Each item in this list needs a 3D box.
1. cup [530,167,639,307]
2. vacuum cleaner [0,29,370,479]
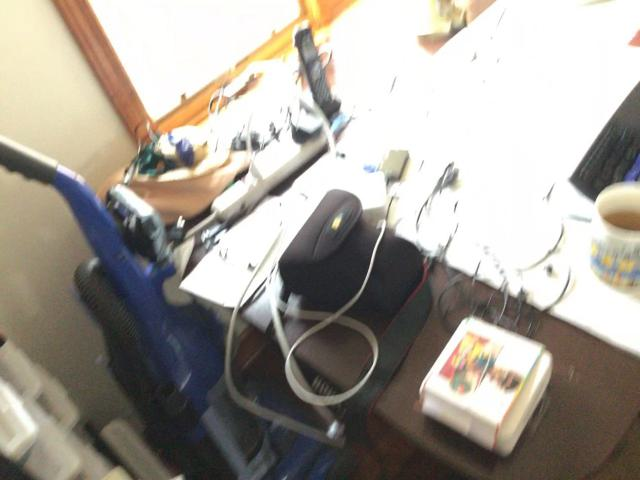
[{"bbox_3d":[0.390,0.000,0.780,0.120,0.110,0.120,46,68,-6],"label":"cup"},{"bbox_3d":[-0.250,0.230,1.100,0.380,1.110,0.360,28,63,33],"label":"vacuum cleaner"}]
